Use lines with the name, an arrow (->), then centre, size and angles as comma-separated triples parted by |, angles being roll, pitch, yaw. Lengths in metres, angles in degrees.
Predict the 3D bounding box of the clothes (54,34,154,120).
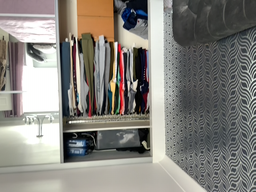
clothes -> -0.260, -0.210, 2.420 | 1.030, 0.880, 0.360 | -1, -177, -9
